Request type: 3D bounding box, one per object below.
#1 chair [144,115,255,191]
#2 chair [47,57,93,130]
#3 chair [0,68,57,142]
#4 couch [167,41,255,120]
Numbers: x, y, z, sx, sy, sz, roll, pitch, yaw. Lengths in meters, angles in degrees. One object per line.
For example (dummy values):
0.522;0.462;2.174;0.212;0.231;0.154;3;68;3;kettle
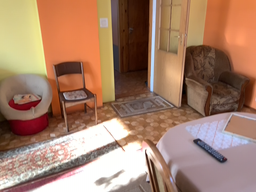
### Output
0.370;0.650;1.130;0.470;0.970;0.390;-6;22;-12;chair
-0.820;-0.060;3.010;0.460;0.850;0.540;-10;24;-22;chair
-1.430;0.080;2.880;0.710;0.710;0.620;-11;24;-23;chair
1.280;-0.320;3.420;0.910;0.960;0.950;-6;23;-15;couch
